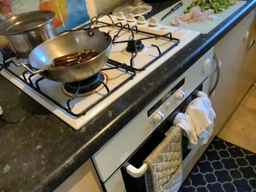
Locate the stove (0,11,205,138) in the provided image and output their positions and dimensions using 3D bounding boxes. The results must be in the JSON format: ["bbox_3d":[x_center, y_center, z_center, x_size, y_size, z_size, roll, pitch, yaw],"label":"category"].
[{"bbox_3d":[-0.120,-0.170,0.770,0.550,0.030,0.580,25,50,35],"label":"stove"}]
